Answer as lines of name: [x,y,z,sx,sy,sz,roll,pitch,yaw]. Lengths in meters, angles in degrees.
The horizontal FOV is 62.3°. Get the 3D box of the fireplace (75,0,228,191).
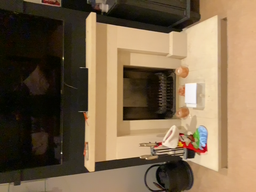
fireplace: [0.150,-0.030,1.840,0.800,1.040,1.270,177,93,-65]
